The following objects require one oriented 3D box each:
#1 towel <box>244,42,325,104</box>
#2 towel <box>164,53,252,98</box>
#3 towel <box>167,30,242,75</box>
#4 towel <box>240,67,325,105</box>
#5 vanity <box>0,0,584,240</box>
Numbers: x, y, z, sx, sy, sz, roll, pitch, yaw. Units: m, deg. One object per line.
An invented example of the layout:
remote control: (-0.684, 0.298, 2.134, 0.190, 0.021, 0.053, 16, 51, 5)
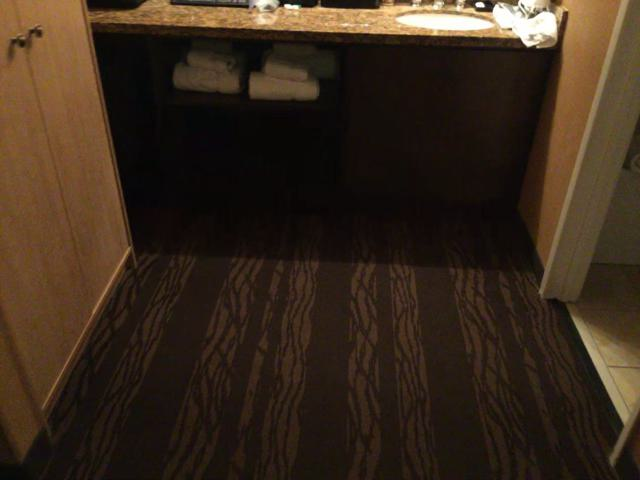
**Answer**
towel: (-0.140, -0.710, 2.440, 0.320, 0.180, 0.310, 1, 29, 0)
towel: (-0.470, -0.710, 2.480, 0.330, 0.130, 0.230, 1, 29, 0)
towel: (-0.490, -0.820, 2.510, 0.260, 0.120, 0.330, 1, 29, 0)
towel: (-0.150, -0.640, 2.400, 0.340, 0.110, 0.160, 1, 29, 0)
vanity: (-0.190, -0.620, 2.520, 2.210, 1.000, 0.660, 1, 29, 0)
